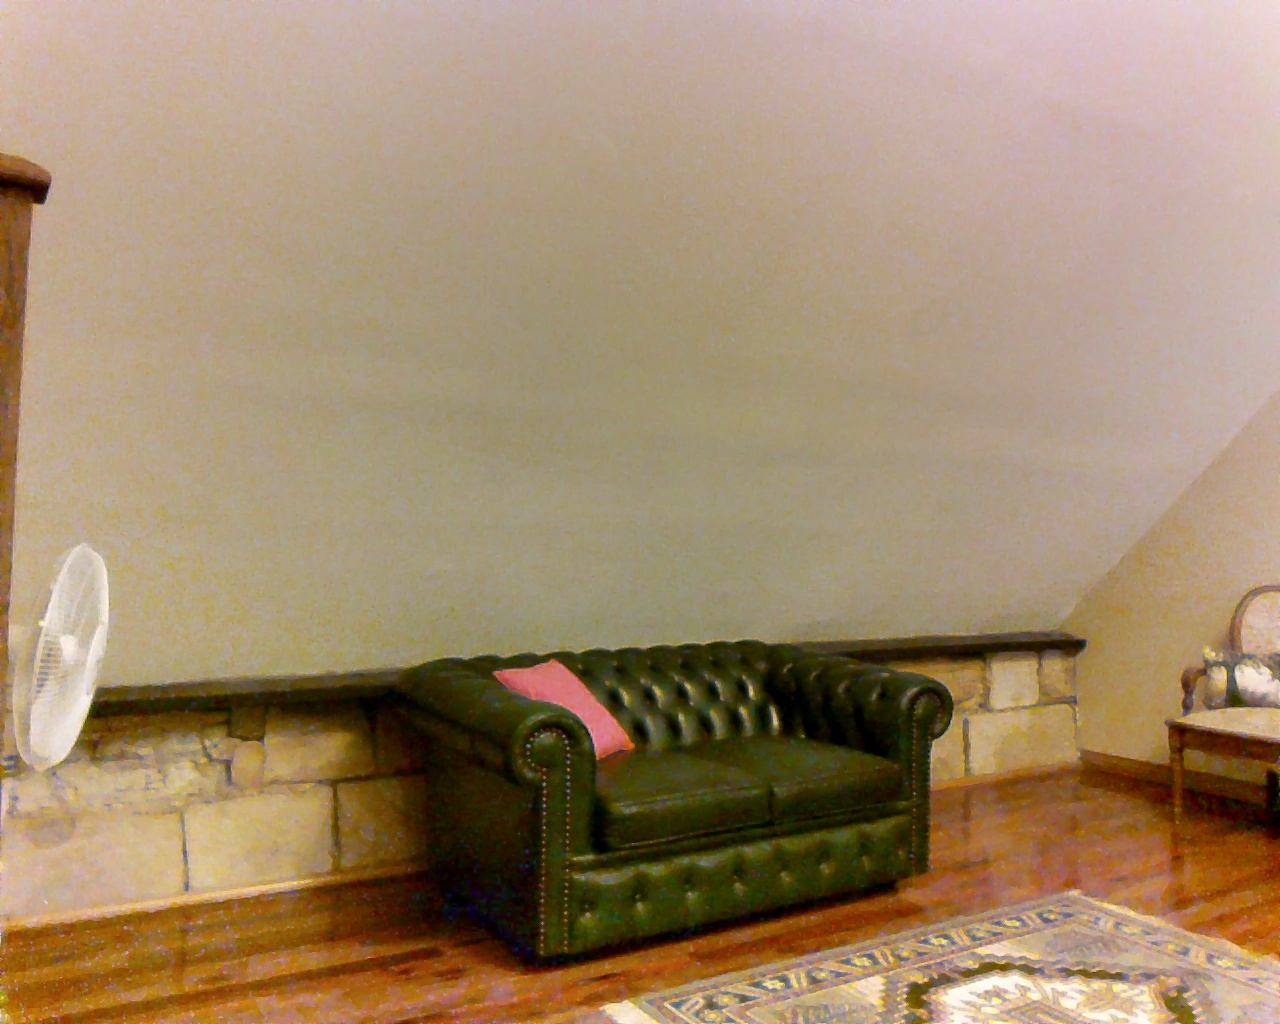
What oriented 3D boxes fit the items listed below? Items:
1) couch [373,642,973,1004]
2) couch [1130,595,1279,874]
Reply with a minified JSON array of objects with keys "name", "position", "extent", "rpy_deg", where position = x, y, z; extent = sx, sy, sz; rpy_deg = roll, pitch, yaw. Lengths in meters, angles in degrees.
[{"name":"couch","position":[0.110,0.860,3.490],"extent":[1.649,0.740,1.010],"rpy_deg":[2,-3,-32]},{"name":"couch","position":[2.739,0.820,3.880],"extent":[0.710,0.970,1.650],"rpy_deg":[2,-3,-32]}]
